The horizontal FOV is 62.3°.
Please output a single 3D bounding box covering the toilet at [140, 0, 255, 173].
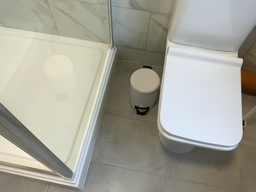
[{"bbox_3d":[0.350,-0.090,1.000,0.410,0.820,0.660,11,61,4],"label":"toilet"}]
